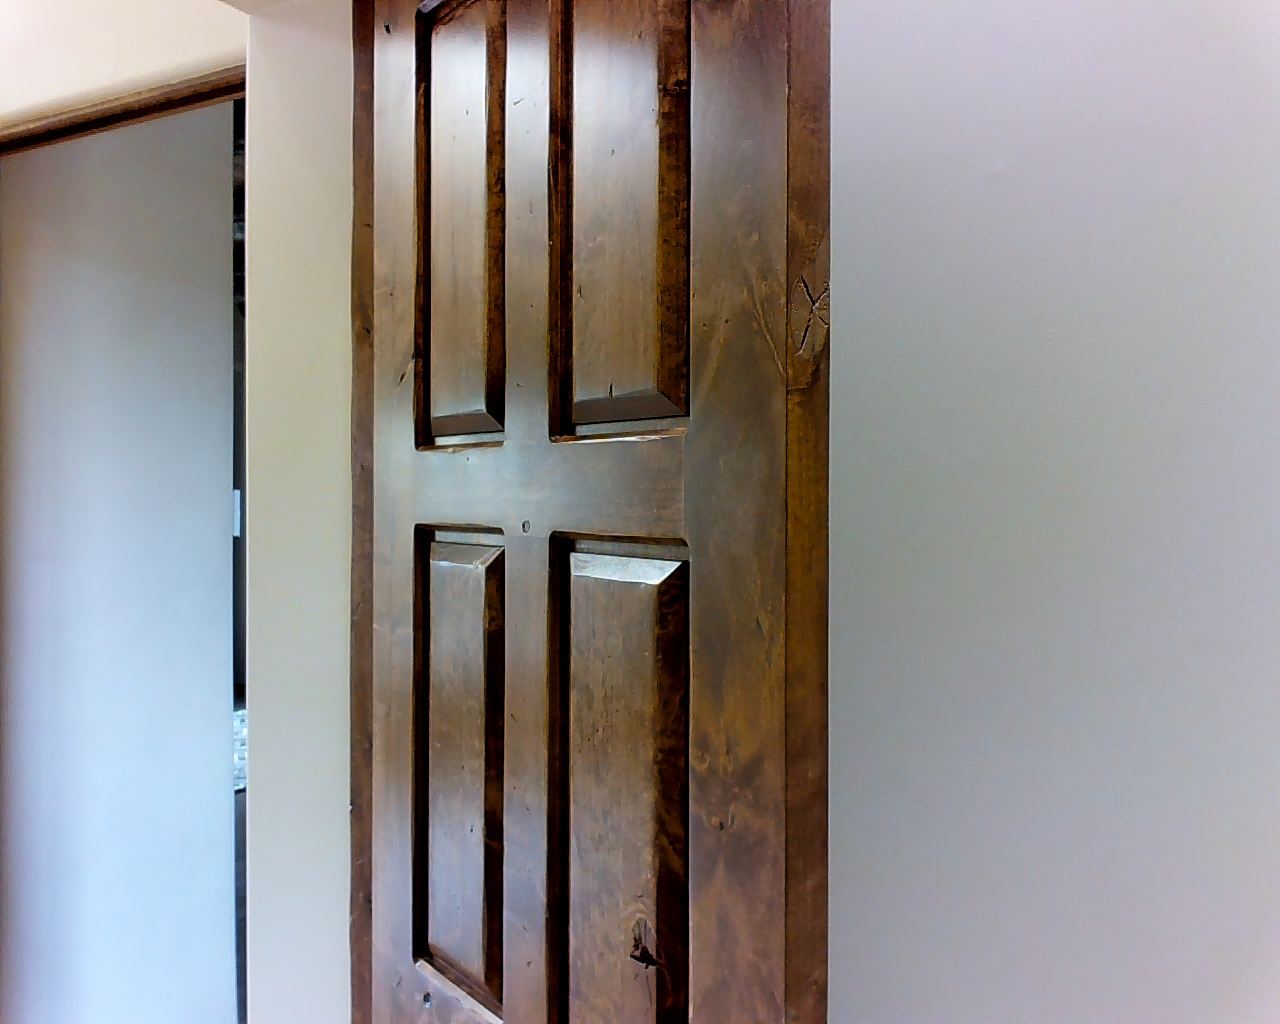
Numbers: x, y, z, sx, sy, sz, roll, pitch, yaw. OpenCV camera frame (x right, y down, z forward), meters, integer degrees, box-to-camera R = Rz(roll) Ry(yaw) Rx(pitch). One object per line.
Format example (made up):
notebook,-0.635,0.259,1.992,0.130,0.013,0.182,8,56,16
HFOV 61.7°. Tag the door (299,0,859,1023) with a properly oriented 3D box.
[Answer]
door,-0.140,0.290,1.140,0.150,2.241,0.840,0,0,-37
